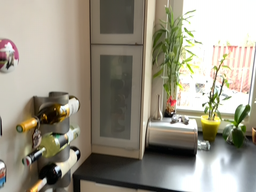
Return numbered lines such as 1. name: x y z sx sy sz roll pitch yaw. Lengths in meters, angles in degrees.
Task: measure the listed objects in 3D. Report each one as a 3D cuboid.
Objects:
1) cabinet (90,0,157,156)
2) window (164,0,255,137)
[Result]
1. cabinet: -0.010 -0.400 1.320 0.320 1.430 0.390 4 11 12
2. window: 1.030 -0.430 1.540 1.410 1.480 0.160 5 11 16
